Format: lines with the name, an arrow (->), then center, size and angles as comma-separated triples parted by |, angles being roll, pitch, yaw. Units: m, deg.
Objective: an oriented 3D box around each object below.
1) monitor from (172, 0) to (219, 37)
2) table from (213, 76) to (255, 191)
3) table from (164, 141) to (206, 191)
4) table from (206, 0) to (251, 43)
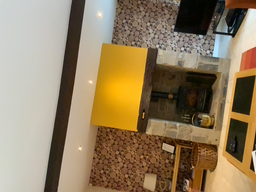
monitor -> 1.400, -1.770, 4.350 | 1.140, 0.740, 0.070 | 94, -174, -48
table -> 1.570, 0.430, 2.510 | 1.490, 0.430, 1.260 | -22, -59, -85
table -> 1.370, 1.820, 5.180 | 0.490, 0.760, 1.220 | 18, -99, -86
table -> 2.000, -1.700, 4.280 | 0.570, 0.470, 1.030 | -77, -6, -47
